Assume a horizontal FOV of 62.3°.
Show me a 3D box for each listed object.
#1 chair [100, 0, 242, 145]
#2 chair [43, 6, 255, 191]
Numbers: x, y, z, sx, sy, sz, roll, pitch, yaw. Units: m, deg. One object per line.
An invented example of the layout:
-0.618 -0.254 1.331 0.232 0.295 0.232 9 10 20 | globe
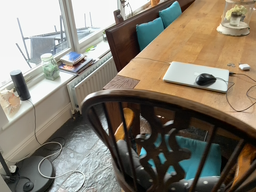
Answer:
0.530 -0.460 2.130 0.620 0.840 1.630 22 44 27 | chair
0.200 0.300 0.930 0.540 1.130 0.610 13 40 19 | chair
